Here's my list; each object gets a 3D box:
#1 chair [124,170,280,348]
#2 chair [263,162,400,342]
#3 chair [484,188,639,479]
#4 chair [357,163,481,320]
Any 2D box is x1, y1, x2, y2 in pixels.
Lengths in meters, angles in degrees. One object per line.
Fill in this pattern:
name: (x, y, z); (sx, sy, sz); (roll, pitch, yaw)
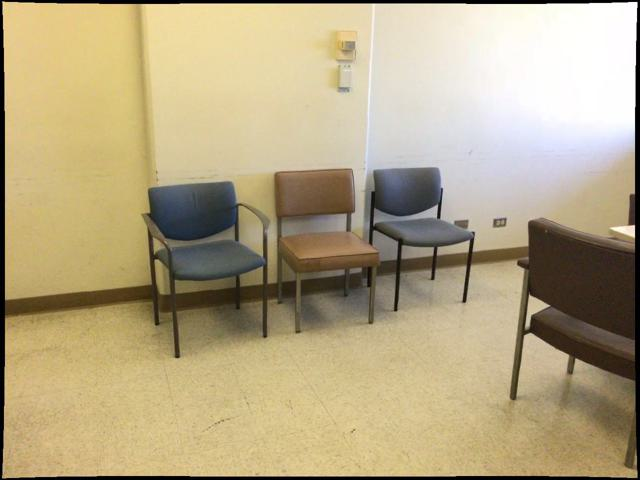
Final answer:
chair: (-0.638, 0.050, 3.070); (0.619, 0.662, 0.740); (-8, 21, -23)
chair: (0.040, 0.030, 3.240); (0.559, 0.802, 0.600); (-7, 20, -19)
chair: (1.187, 0.311, 2.290); (0.629, 0.832, 0.720); (-12, 22, -31)
chair: (0.578, -0.020, 3.570); (0.479, 0.772, 0.630); (-6, 20, -17)
